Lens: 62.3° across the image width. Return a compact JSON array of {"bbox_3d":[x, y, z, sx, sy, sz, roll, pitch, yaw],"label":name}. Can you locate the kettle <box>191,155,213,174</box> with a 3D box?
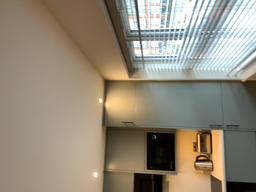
[{"bbox_3d":[1.050,0.970,3.020,0.240,0.240,0.230,64,-152,-75],"label":"kettle"}]
